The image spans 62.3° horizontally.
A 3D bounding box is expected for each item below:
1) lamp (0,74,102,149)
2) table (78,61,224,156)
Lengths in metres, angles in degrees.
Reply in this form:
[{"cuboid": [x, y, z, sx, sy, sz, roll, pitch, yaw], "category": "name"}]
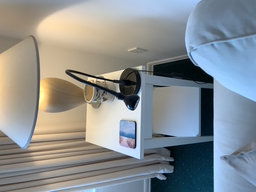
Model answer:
[{"cuboid": [-0.410, 0.070, 0.980, 0.270, 0.510, 0.270, -6, 83, 53], "category": "lamp"}, {"cuboid": [0.130, 0.080, 1.250, 0.520, 0.670, 0.380, -7, 82, 52], "category": "table"}]
